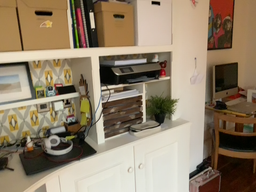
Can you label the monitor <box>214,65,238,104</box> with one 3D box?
[{"bbox_3d":[1.210,-0.150,2.620,0.380,0.440,0.050,-10,15,-32],"label":"monitor"}]
